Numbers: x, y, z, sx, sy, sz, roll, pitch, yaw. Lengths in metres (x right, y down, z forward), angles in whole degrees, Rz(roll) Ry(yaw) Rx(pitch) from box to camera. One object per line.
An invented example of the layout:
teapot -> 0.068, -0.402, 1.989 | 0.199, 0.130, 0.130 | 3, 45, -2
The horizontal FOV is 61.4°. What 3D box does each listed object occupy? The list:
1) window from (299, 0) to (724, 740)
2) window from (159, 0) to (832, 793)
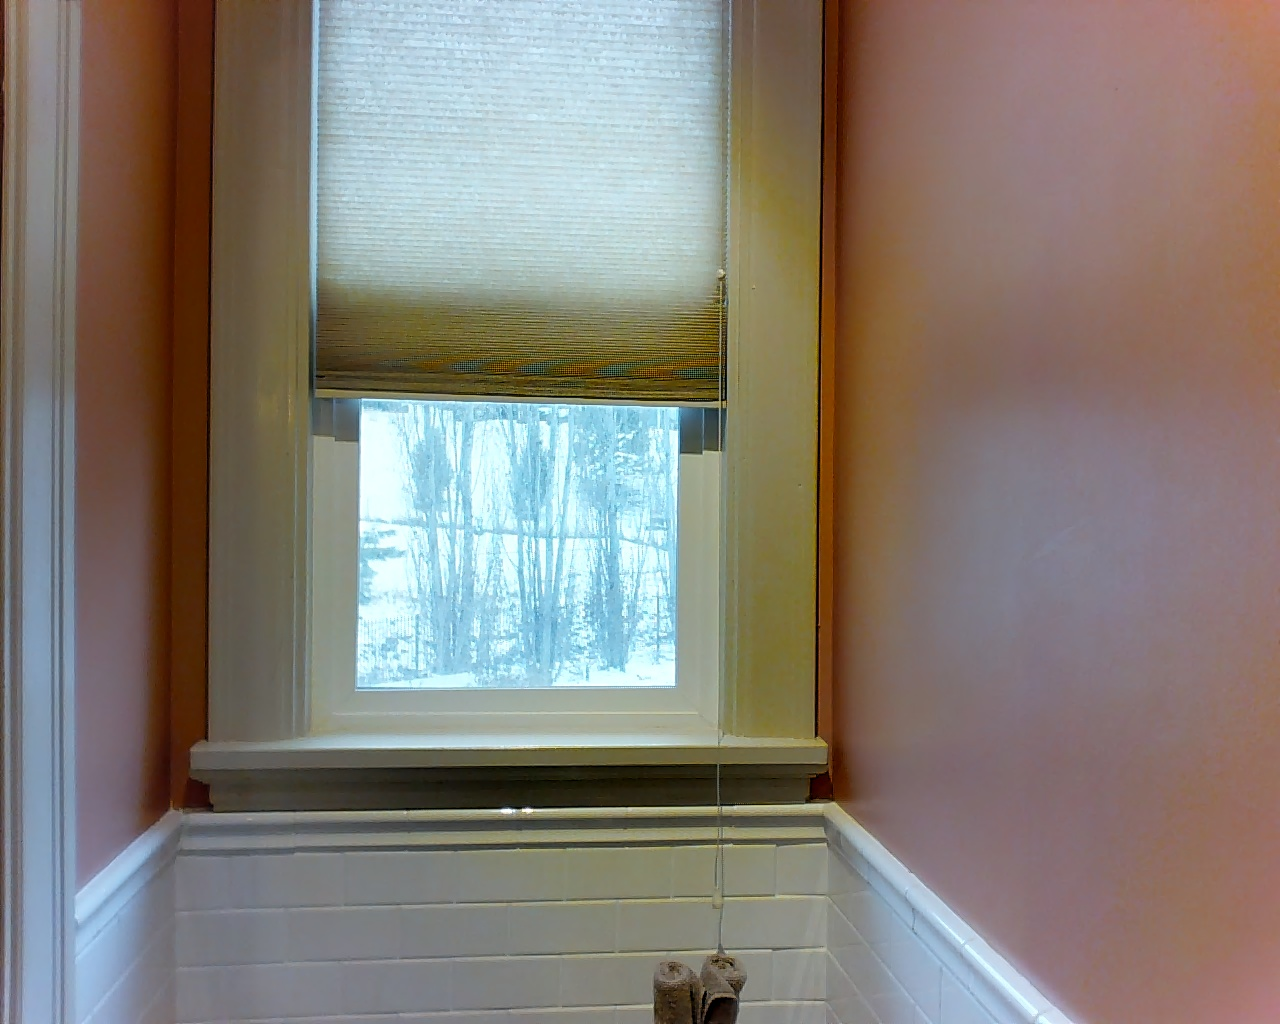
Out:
window -> -0.180, -0.250, 1.580 | 0.600, 1.140, 0.060 | 0, 0, -8
window -> -0.190, -0.290, 1.570 | 0.910, 1.330, 0.170 | 0, 0, -7
